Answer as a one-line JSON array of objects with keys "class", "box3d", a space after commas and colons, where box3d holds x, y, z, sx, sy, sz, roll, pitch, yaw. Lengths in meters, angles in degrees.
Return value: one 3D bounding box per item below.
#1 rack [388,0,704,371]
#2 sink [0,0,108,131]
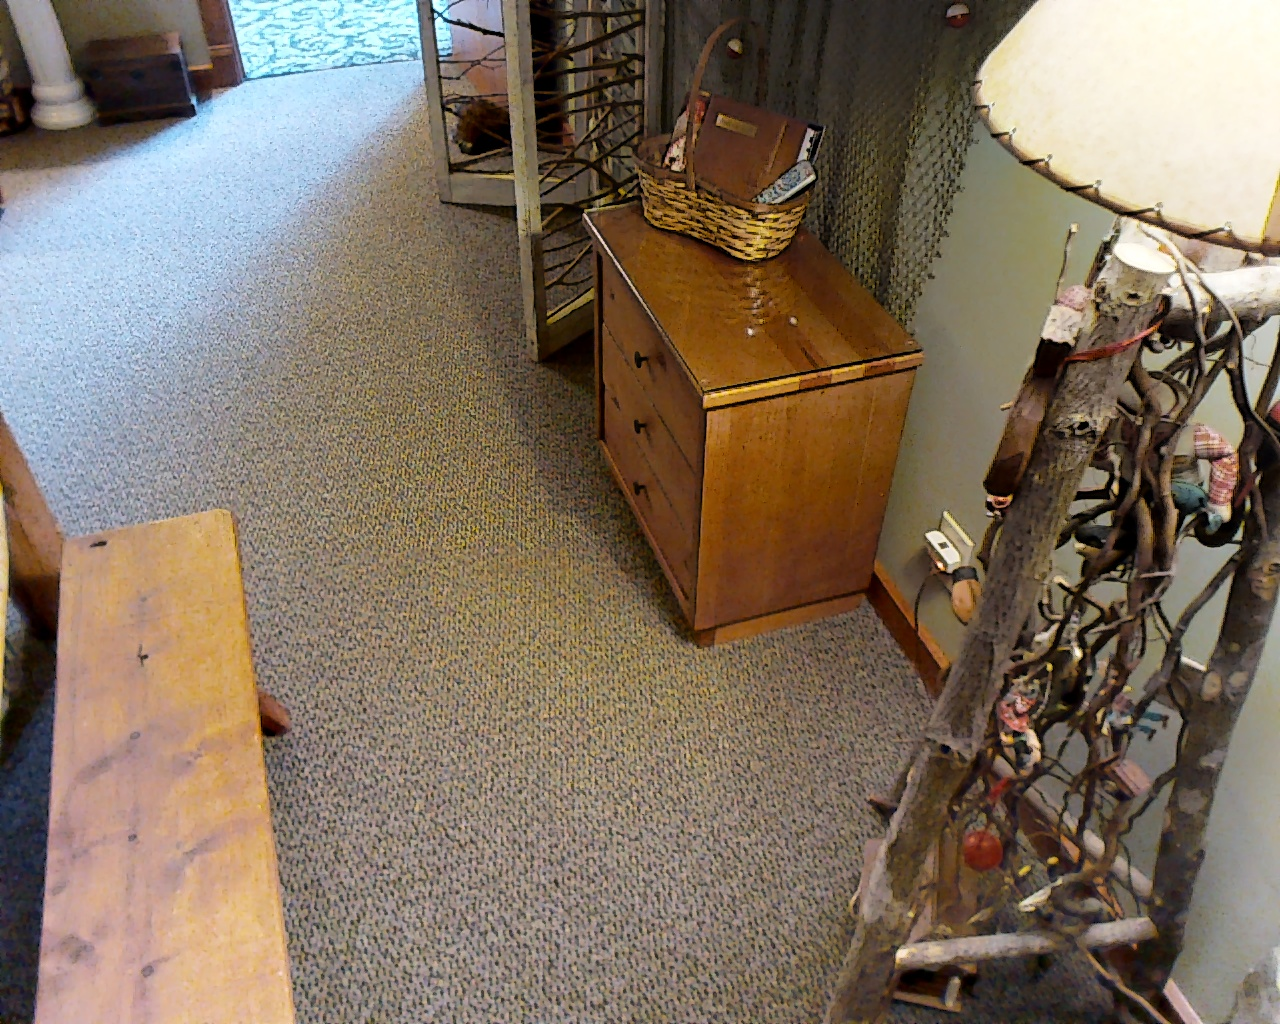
[{"class": "rack", "box3d": [-0.300, -1.470, 2.620, 0.540, 1.860, 1.130, -13, 44, -15]}, {"class": "sink", "box3d": [-2.260, -1.830, 3.730, 0.510, 0.850, 0.420, -11, 44, -13]}]
